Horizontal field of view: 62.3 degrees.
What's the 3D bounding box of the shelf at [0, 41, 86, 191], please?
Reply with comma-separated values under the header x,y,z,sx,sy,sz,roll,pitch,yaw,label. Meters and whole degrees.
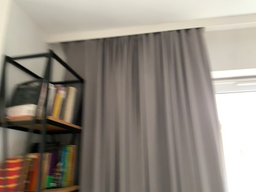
x,y,z,sx,sy,sz,roll,pitch,yaw,label
-0.490,0.900,1.070,0.350,2.320,0.510,-4,-16,6,shelf
